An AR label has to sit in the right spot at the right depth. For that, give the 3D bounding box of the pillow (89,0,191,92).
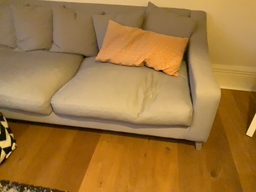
[{"bbox_3d":[0.090,-0.380,1.660,0.700,0.370,0.130,36,38,-7],"label":"pillow"}]
